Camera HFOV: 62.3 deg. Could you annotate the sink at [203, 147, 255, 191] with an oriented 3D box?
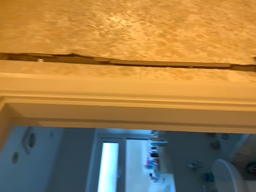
[{"bbox_3d":[0.910,0.830,1.910,0.560,0.210,0.440,-89,2,-48],"label":"sink"}]
